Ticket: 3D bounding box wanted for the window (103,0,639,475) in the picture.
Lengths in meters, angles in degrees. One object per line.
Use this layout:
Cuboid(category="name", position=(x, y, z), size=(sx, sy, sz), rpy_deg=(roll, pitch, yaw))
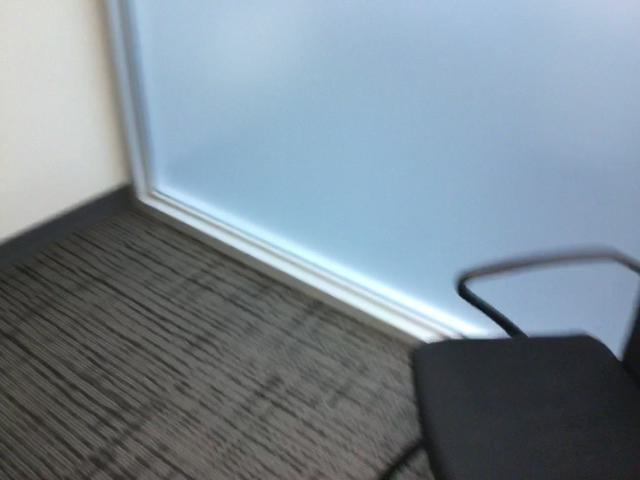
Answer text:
Cuboid(category="window", position=(0.100, -0.350, 1.520), size=(1.810, 1.290, 0.200), rpy_deg=(24, 38, 28))
